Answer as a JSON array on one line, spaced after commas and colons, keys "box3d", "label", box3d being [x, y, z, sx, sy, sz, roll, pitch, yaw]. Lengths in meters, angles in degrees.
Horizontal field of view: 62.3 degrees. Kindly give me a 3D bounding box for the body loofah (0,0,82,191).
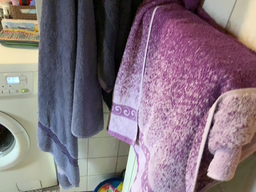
[{"box3d": [-0.260, 0.060, 0.760, 0.180, 1.040, 0.160, 0, 37, -13], "label": "body loofah"}]
